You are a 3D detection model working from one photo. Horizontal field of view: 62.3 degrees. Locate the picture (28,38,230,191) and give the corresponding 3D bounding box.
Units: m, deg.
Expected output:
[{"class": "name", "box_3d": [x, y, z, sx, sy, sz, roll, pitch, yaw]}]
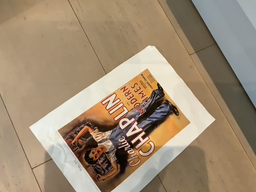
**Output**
[{"class": "picture", "box_3d": [0.020, 0.060, 0.420, 0.330, 0.030, 0.220, -38, 87, -18]}]
